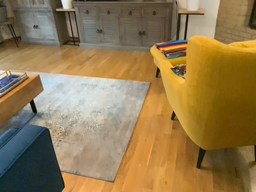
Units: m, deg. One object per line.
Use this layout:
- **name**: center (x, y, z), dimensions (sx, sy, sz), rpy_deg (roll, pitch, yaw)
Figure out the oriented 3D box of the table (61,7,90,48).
- **table**: center (-1.080, -1.430, 4.420), dimensions (0.350, 0.720, 0.350), rpy_deg (8, 33, 15)
